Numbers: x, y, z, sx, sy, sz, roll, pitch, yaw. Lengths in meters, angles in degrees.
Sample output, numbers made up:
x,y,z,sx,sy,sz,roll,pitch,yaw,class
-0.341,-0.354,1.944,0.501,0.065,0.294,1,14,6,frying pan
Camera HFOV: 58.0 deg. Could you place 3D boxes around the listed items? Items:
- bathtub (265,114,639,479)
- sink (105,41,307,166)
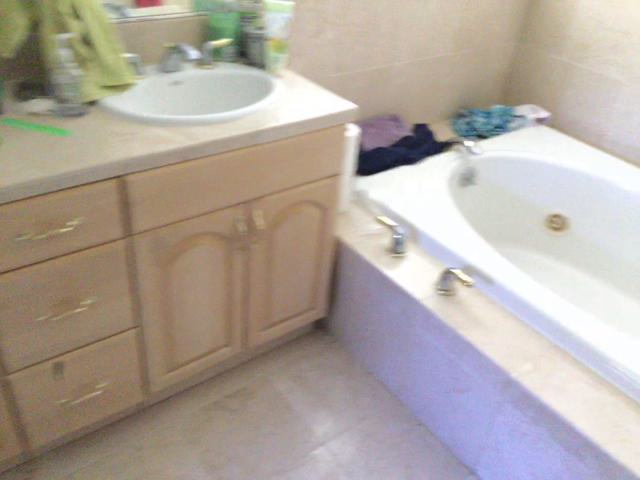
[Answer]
x,y,z,sx,sy,sz,roll,pitch,yaw,class
0.850,0.250,1.790,1.210,0.480,1.890,-18,40,-32,bathtub
-0.310,-0.390,1.570,0.380,0.160,0.390,-21,41,-35,sink
